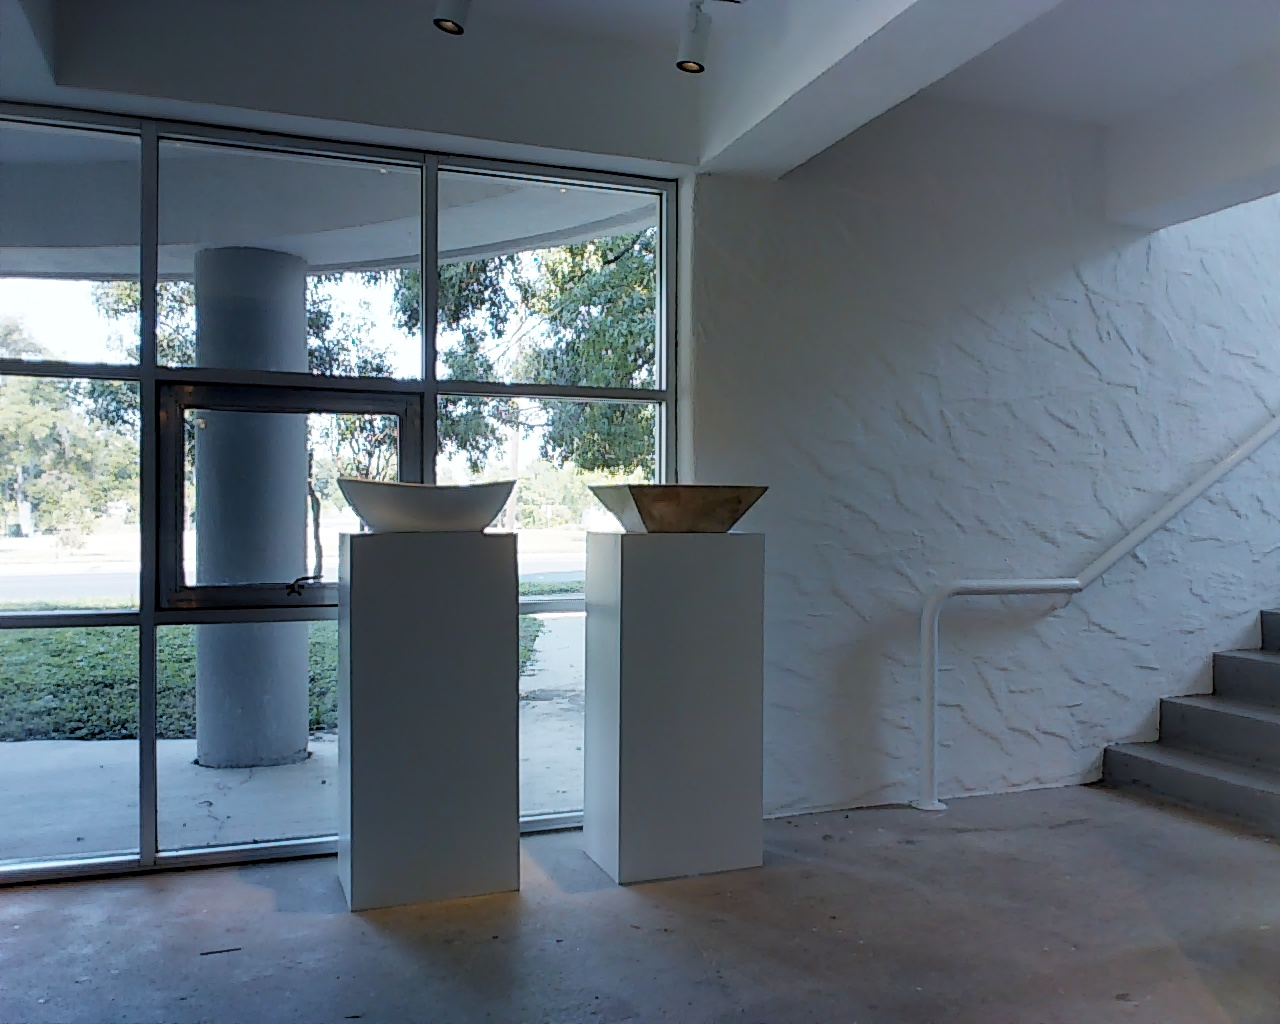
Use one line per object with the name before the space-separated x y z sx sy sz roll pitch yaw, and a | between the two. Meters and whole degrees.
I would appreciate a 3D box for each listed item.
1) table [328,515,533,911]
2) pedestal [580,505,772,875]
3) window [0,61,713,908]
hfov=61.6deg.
table | -0.650 0.560 3.280 0.550 1.100 0.420 0 0 -21
pedestal | 0.110 0.540 3.530 0.520 1.120 0.390 0 0 -21
window | -1.710 -0.080 3.460 4.050 2.470 0.500 0 0 -21
